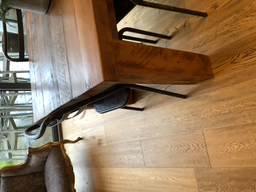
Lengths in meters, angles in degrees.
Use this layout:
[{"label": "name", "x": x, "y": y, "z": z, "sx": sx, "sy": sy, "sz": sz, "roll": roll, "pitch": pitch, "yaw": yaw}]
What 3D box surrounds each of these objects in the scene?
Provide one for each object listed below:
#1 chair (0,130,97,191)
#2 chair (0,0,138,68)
[{"label": "chair", "x": -0.960, "y": 0.920, "z": 2.410, "sx": 0.660, "sy": 0.830, "sz": 0.770, "roll": -46, "pitch": 57, "yaw": 41}, {"label": "chair", "x": -0.450, "y": -0.560, "z": 1.670, "sx": 0.420, "sy": 0.930, "sz": 0.480, "roll": -28, "pitch": 69, "yaw": 48}]
